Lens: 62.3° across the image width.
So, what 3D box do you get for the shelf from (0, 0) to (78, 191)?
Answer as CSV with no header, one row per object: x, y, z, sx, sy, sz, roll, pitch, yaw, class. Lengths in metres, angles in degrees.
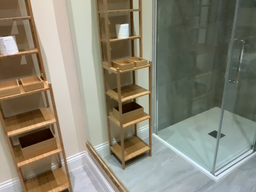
-0.690,0.070,1.480,0.380,1.580,0.290,-16,27,-28,shelf
